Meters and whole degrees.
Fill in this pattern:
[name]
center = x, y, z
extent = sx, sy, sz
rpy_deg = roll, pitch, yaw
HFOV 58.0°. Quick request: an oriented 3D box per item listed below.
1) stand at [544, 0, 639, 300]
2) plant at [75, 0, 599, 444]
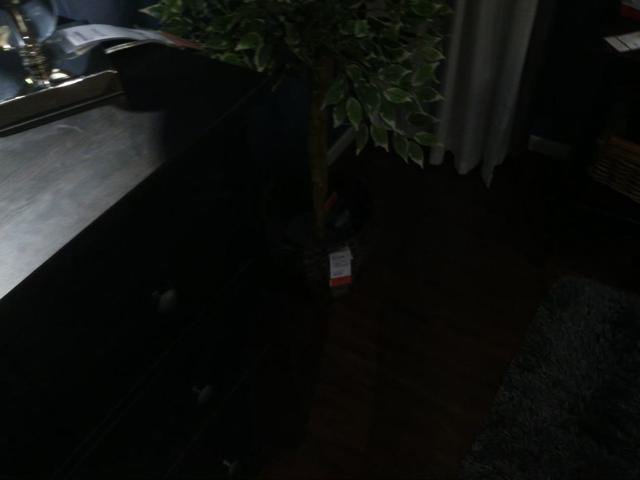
[stand]
center = 0.870, -0.220, 1.370
extent = 0.470, 0.660, 0.420
rpy_deg = 19, 51, 30
[plant]
center = 0.090, -0.480, 1.120
extent = 0.680, 1.660, 0.780
rpy_deg = 19, 51, 30
